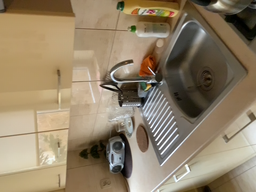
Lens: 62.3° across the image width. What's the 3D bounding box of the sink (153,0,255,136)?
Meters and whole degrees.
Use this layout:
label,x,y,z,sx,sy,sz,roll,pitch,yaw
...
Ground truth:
label,x,y,z,sx,sy,sz,roll,pitch,yaw
sink,0.330,-0.120,0.960,0.400,0.170,0.440,112,147,-49
